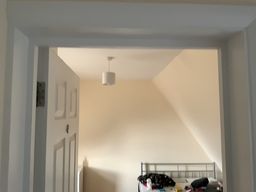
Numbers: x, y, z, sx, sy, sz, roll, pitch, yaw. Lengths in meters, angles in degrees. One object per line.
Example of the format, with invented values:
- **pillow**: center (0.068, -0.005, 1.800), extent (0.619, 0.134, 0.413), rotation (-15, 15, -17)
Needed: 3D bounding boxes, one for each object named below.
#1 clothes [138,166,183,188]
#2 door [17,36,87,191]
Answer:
- **clothes**: center (0.530, 1.380, 3.650), extent (0.660, 0.190, 0.620), rotation (0, -5, -2)
- **door**: center (-0.360, 0.840, 1.160), extent (0.060, 2.050, 0.930), rotation (0, -5, -1)
